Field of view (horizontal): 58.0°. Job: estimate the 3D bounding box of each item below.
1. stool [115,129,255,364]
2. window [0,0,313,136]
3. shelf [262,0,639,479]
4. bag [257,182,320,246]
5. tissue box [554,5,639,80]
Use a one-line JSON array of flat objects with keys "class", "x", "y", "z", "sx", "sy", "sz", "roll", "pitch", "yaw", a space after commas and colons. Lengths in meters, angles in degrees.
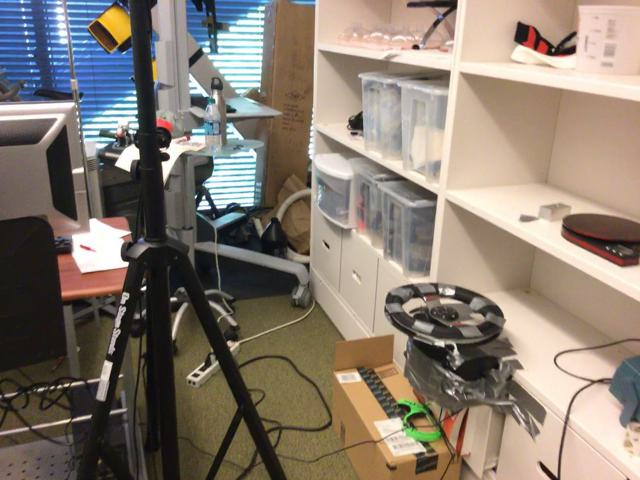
[{"class": "stool", "x": -0.600, "y": -0.010, "z": 2.560, "sx": 0.520, "sy": 0.890, "sz": 0.530, "roll": -4, "pitch": 18, "yaw": -18}, {"class": "window", "x": -1.060, "y": -1.410, "z": 3.530, "sx": 2.060, "sy": 1.490, "sz": 0.230, "roll": -4, "pitch": 18, "yaw": -18}, {"class": "shelf", "x": 0.660, "y": -0.260, "z": 1.070, "sx": 0.710, "sy": 2.490, "sz": 3.950, "roll": -4, "pitch": 18, "yaw": -17}, {"class": "bag", "x": -0.190, "y": -0.160, "z": 3.490, "sx": 0.350, "sy": 0.320, "sz": 0.220, "roll": 3, "pitch": 17, "yaw": 4}, {"class": "tissue box", "x": 0.660, "y": -0.450, "z": 1.330, "sx": 0.150, "sy": 0.150, "sz": 0.140, "roll": -4, "pitch": 18, "yaw": -18}]
